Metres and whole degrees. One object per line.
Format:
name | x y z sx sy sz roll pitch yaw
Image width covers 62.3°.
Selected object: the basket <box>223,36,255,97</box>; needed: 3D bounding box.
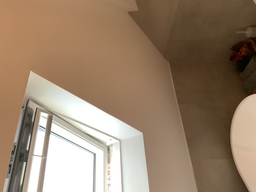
basket | 1.320 -0.320 2.320 0.370 0.250 0.540 100 167 -64
